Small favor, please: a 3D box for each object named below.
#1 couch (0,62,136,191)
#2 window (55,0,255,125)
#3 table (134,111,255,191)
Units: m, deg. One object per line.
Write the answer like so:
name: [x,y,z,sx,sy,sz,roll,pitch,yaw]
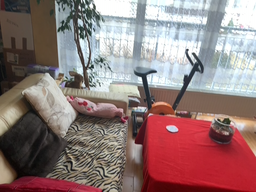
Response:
couch: [-0.490,0.380,1.560,0.920,0.760,1.520,7,26,3]
window: [0.940,-0.780,2.490,3.520,2.290,0.230,6,26,1]
table: [0.500,0.570,1.750,0.850,0.440,0.830,6,26,1]
